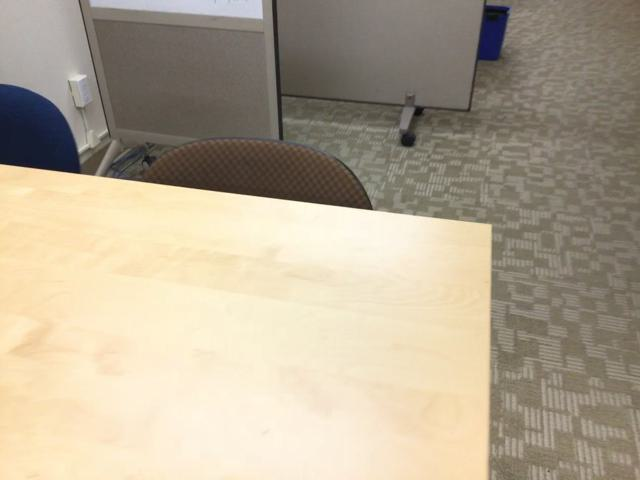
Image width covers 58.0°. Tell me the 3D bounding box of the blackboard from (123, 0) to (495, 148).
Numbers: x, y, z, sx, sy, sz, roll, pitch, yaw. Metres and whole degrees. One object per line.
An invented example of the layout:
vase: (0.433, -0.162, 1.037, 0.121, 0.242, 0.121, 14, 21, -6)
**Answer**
blackboard: (-0.060, -1.030, 2.760, 1.670, 0.960, 0.380, 7, 33, 10)

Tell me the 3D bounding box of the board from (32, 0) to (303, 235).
board: (-0.500, -0.730, 2.010, 0.790, 1.350, 0.380, 7, 33, 10)
